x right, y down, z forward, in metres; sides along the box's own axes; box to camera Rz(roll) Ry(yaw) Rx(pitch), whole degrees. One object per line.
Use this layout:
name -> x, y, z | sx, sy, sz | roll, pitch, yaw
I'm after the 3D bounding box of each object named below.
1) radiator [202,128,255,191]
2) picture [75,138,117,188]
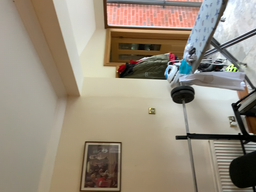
radiator -> 1.160, 1.130, 1.980 | 0.100, 0.630, 1.710 | 96, 175, -61
picture -> -0.340, 0.720, 2.330 | 0.030, 0.420, 0.520 | 96, 175, -62
